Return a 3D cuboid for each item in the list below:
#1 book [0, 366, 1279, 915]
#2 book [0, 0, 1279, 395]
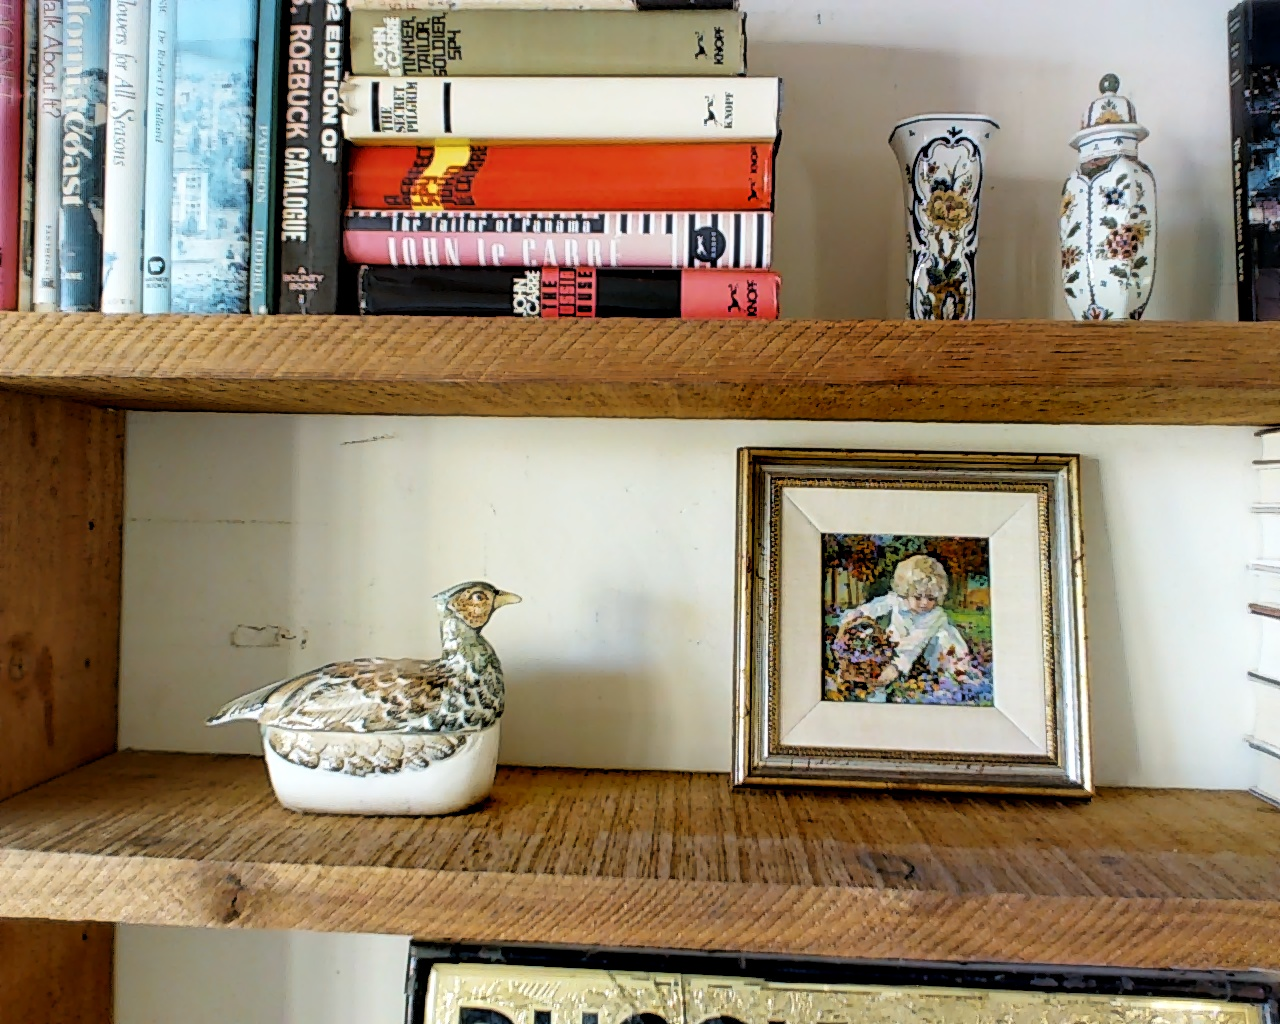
[{"bbox_3d":[0.170,0.070,0.710,1.080,0.290,0.240,1,1,2],"label":"book"},{"bbox_3d":[0.160,-0.260,0.680,1.050,0.340,0.250,1,1,3],"label":"book"}]
